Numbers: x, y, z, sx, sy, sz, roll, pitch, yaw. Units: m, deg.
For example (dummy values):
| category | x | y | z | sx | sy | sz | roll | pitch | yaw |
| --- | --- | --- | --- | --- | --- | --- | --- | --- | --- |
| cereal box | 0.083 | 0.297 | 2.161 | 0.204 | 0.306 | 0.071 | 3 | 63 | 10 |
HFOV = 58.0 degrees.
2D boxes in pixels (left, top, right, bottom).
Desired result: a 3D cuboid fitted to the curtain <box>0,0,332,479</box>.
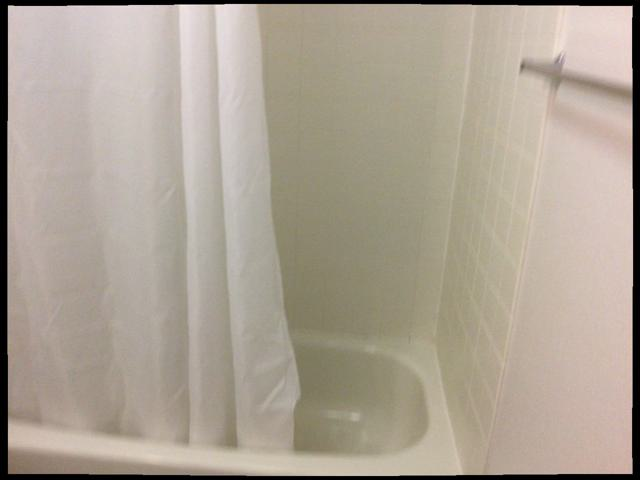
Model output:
| category | x | y | z | sx | sy | sz | roll | pitch | yaw |
| --- | --- | --- | --- | --- | --- | --- | --- | --- | --- |
| curtain | -0.569 | -0.170 | 1.380 | 1.108 | 1.713 | 0.220 | 7 | 21 | 4 |
